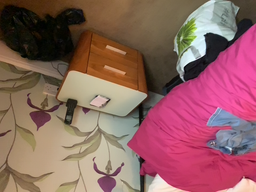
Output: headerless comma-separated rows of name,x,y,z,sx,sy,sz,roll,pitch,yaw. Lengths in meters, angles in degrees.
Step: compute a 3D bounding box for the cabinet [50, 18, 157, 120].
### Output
cabinet,-0.180,-0.150,1.560,0.590,0.380,0.480,17,145,-24
